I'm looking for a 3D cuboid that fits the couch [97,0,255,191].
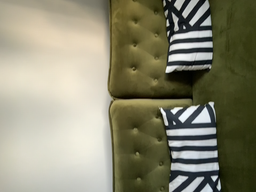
[{"bbox_3d":[0.390,0.010,1.110,0.920,0.770,1.680,-9,81,58],"label":"couch"}]
